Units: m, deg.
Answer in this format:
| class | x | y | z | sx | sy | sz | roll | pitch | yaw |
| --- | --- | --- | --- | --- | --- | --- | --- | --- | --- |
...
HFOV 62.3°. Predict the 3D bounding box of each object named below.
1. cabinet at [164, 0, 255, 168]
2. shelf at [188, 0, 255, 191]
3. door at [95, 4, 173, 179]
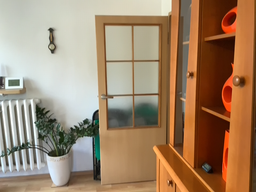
| class | x | y | z | sx | sy | sz | roll | pitch | yaw |
| --- | --- | --- | --- | --- | --- | --- | --- | --- | --- |
| cabinet | 0.490 | -0.170 | 1.400 | 0.370 | 1.140 | 0.400 | -2 | 10 | -8 |
| shelf | 0.550 | -0.110 | 1.060 | 0.350 | 1.140 | 0.300 | -2 | 10 | -8 |
| door | 0.080 | 0.000 | 2.500 | 0.860 | 2.010 | 0.080 | -2 | 10 | -8 |
